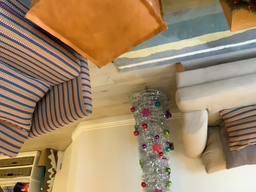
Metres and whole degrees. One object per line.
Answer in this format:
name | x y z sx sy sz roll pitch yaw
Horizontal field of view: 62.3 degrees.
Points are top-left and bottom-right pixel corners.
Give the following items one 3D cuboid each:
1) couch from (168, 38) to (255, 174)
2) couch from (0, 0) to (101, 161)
couch | 1.360 0.090 1.770 1.840 0.780 0.980 -9 147 14
couch | -0.790 -0.150 1.340 0.810 0.800 0.860 -21 143 30
